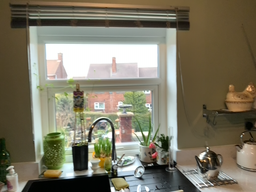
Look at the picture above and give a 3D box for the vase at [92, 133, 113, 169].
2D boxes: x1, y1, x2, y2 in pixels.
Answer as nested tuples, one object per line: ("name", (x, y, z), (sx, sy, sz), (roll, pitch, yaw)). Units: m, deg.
("vase", (-0.200, 0.410, 1.630), (0.140, 0.170, 0.290), (-2, 5, -9))
